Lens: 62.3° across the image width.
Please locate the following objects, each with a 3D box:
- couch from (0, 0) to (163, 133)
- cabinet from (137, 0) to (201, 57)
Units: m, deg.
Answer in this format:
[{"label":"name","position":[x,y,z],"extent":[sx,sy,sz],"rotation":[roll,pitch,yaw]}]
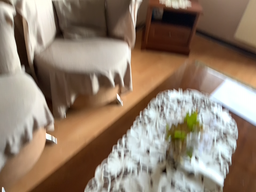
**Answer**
[{"label":"couch","position":[-0.350,-0.390,1.650],"extent":[0.810,0.740,0.770],"rotation":[34,48,26]},{"label":"cabinet","position":[0.420,-0.770,2.350],"extent":[0.560,0.510,0.320],"rotation":[7,42,-1]}]
